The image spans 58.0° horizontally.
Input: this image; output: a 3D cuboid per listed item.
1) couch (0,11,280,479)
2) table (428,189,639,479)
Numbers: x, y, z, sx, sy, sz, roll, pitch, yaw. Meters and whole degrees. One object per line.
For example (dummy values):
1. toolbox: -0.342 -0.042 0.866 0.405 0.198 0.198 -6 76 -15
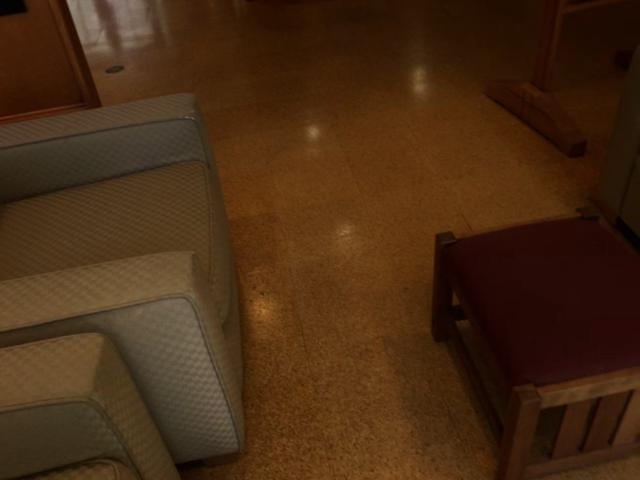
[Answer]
1. couch: -0.650 0.070 1.360 0.890 0.780 0.860 -12 39 -4
2. table: 0.520 0.220 1.280 0.410 0.380 0.500 -12 39 -4
